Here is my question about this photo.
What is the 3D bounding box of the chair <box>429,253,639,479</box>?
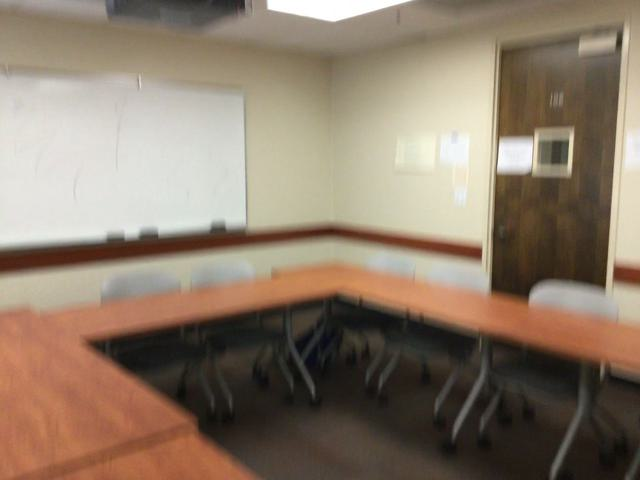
[{"bbox_3d":[1.030,0.560,2.790,0.660,0.850,0.710,-7,11,-40],"label":"chair"}]

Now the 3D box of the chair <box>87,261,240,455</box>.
[{"bbox_3d":[-0.840,0.580,3.120,0.590,0.800,0.550,-7,11,-41],"label":"chair"}]

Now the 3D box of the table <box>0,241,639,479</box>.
[{"bbox_3d":[0.220,0.760,2.070,2.790,0.870,3.580,-7,11,-40],"label":"table"}]
